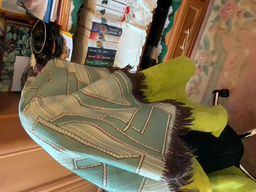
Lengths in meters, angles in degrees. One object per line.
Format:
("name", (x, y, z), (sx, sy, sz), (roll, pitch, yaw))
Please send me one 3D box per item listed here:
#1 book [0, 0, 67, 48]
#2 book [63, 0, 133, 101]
("book", (-0.460, -0.510, 1.030), (0.280, 0.210, 0.450), (39, 119, 36))
("book", (-0.190, -0.300, 1.270), (0.200, 0.230, 0.620), (30, 114, 39))
